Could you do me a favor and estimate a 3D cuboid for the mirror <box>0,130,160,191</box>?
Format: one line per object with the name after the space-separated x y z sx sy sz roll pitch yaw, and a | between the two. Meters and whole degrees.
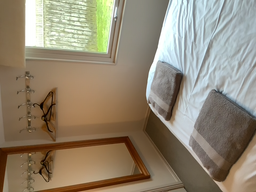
-0.620 0.800 2.600 0.930 1.830 0.070 -125 42 -52 | mirror

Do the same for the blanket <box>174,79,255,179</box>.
0.520 0.200 1.380 0.410 0.080 0.490 -129 45 -52 | blanket

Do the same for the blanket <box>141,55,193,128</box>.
0.320 -0.050 1.900 0.390 0.150 0.520 -127 44 -53 | blanket

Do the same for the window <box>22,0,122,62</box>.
-0.590 -0.950 2.320 0.140 1.020 1.090 -127 44 -53 | window
